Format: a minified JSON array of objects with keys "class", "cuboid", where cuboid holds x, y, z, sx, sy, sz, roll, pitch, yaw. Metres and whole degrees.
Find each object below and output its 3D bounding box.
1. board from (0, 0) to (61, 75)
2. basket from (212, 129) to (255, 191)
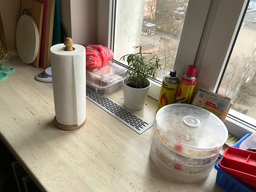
[{"class":"board","cuboid":[-0.520,-0.400,1.100,0.310,0.480,0.150,30,38,32]},{"class":"basket","cuboid":[0.370,0.220,0.590,0.160,0.110,0.210,30,39,32]}]
